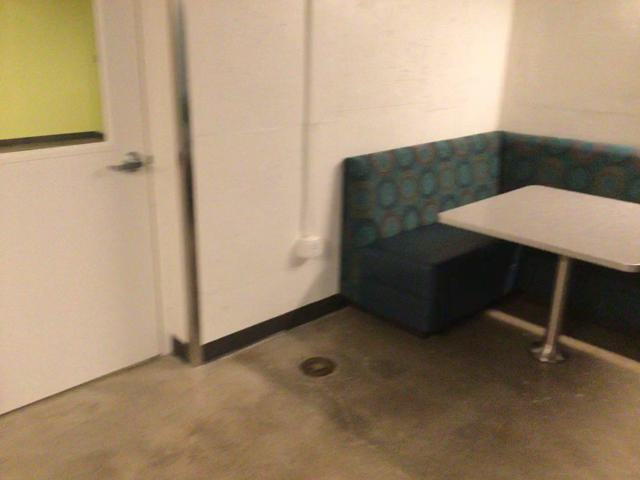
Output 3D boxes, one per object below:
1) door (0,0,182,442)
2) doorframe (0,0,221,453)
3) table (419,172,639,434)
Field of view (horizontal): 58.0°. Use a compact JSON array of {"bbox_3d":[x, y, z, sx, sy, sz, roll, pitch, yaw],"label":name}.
[{"bbox_3d":[-1.040,-0.260,2.190,1.000,2.010,0.170,-13,22,-42],"label":"door"},{"bbox_3d":[-0.950,-0.250,2.100,1.180,1.940,0.220,-15,24,-41],"label":"doorframe"},{"bbox_3d":[1.130,0.180,2.710,0.910,0.760,0.940,-18,23,-40],"label":"table"}]
